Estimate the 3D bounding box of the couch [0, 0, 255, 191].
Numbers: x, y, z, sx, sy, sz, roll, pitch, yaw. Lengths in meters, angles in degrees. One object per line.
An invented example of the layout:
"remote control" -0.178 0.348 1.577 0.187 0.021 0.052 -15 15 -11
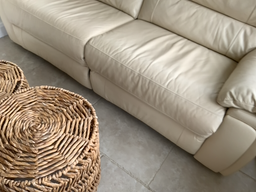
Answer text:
"couch" 0.060 -0.570 1.450 2.060 0.950 1.030 32 52 22
